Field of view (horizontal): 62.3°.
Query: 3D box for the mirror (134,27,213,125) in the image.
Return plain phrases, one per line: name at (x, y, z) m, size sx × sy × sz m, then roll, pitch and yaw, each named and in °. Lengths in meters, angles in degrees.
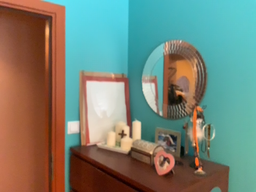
mirror at (0.260, -0.120, 1.390) m, size 0.080 × 0.530 × 0.560 m, roll -1°, pitch 4°, yaw -40°
